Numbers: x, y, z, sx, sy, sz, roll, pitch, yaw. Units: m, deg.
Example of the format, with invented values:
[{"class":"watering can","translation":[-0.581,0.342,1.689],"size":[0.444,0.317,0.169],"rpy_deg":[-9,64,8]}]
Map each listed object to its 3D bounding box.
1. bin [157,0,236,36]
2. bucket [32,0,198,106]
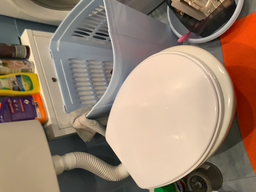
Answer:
[{"class":"bin","translation":[0.260,-0.380,0.830],"size":[0.180,0.250,0.180],"rpy_deg":[-29,74,40]},{"class":"bucket","translation":[-0.040,-0.190,0.910],"size":[0.390,0.530,0.290],"rpy_deg":[-31,73,39]}]
